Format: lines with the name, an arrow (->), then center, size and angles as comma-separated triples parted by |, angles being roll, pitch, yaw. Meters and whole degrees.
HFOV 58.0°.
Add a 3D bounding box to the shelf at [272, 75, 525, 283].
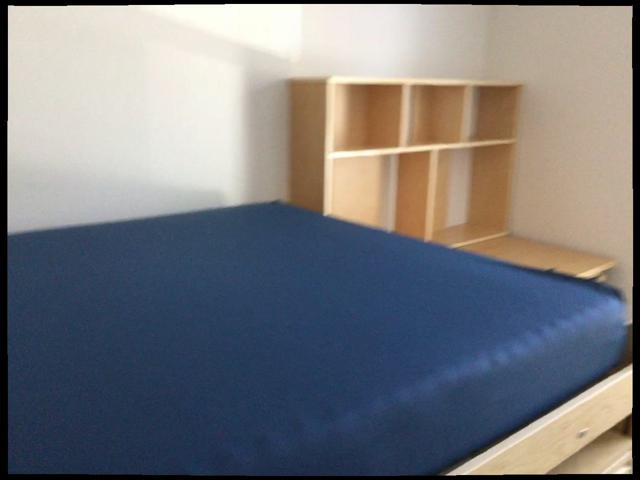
shelf -> 0.389, -0.331, 2.620 | 1.239, 0.771, 0.320 | -10, 19, -37
